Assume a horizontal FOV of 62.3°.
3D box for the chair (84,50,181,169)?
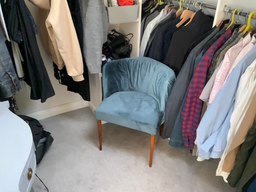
[{"bbox_3d":[0.050,0.080,1.690,0.550,0.660,0.520,13,34,17],"label":"chair"}]
